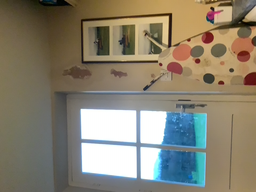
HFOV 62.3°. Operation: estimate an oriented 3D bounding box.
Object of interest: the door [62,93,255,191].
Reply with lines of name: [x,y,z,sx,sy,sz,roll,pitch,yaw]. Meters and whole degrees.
door: [0.380,0.490,1.950,0.070,2.140,1.000,-18,-71,-75]
